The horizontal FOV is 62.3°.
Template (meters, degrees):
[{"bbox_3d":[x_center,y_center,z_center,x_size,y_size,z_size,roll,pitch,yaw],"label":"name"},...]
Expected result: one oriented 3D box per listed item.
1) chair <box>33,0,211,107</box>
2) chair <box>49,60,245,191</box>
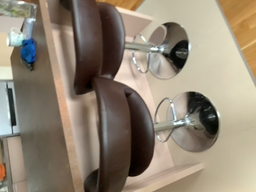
[{"bbox_3d":[-0.030,-0.340,1.330,0.500,0.860,0.620,-33,67,46],"label":"chair"},{"bbox_3d":[0.120,0.180,1.180,0.500,0.870,0.510,-33,67,46],"label":"chair"}]
